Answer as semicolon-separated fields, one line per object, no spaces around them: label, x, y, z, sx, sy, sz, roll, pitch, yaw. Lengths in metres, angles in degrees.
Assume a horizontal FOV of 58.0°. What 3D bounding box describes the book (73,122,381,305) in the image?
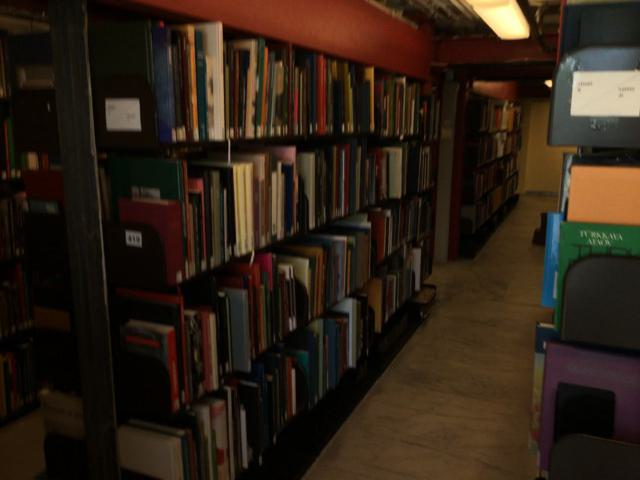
book;-0.190;-0.220;2.310;0.390;0.460;1.590;4;13;24

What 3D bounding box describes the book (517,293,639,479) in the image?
book;0.610;0.350;1.270;0.300;0.400;0.190;4;13;24

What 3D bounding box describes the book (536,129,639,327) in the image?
book;0.620;-0.030;1.220;0.280;0.400;0.100;4;13;24

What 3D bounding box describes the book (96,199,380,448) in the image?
book;-0.160;0.180;2.360;0.310;0.470;1.630;4;13;24

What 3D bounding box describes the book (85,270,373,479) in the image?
book;-0.210;0.550;2.340;0.390;0.480;1.480;4;13;24

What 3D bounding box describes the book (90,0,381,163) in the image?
book;-0.150;-0.550;2.150;0.290;0.400;1.510;4;13;24
